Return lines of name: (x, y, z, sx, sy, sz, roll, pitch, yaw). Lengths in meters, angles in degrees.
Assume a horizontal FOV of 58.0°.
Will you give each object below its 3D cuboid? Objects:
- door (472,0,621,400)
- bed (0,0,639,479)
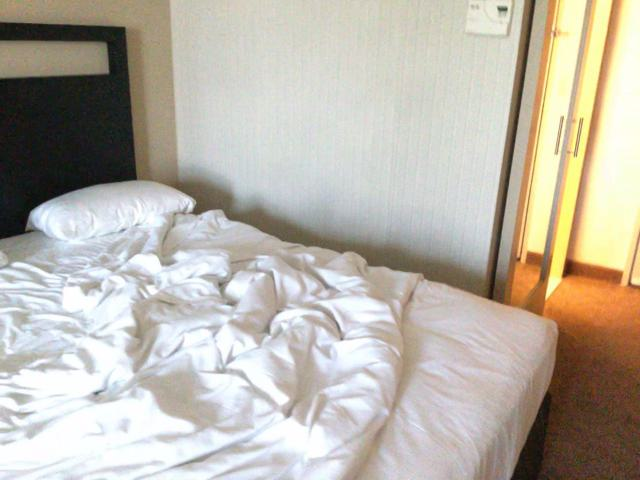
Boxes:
door: (1.050, -0.330, 2.600, 0.180, 1.750, 1.130, 12, 21, 31)
bed: (-0.490, 0.140, 1.630, 2.120, 1.510, 1.730, 12, 21, 31)
